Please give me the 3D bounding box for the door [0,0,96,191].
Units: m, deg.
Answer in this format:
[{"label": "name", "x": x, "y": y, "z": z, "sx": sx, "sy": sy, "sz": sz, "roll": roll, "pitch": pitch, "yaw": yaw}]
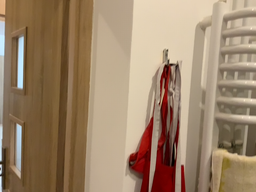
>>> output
[{"label": "door", "x": -0.510, "y": 0.450, "z": 0.980, "sx": 0.090, "sy": 2.070, "sz": 0.950, "roll": 0, "pitch": 6, "yaw": -45}]
